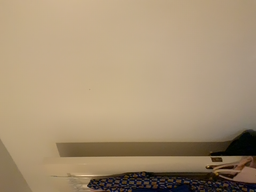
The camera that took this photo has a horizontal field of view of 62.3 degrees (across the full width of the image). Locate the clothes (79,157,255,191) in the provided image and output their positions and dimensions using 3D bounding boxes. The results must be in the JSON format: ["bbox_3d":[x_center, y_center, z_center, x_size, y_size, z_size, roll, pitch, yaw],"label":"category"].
[{"bbox_3d":[0.380,0.540,1.280,0.440,1.260,0.130,91,178,-46],"label":"clothes"}]
